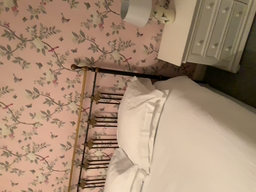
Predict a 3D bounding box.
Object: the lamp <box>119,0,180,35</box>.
[{"bbox_3d":[0.160,-0.670,1.690,0.240,0.370,0.280,-134,52,-61],"label":"lamp"}]
